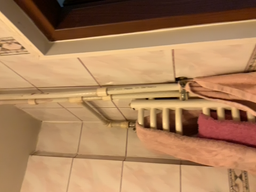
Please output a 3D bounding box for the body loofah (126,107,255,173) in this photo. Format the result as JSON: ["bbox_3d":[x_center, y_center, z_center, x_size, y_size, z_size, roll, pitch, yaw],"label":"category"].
[{"bbox_3d":[0.410,0.170,0.730,0.350,0.760,0.150,58,-146,-63],"label":"body loofah"}]
